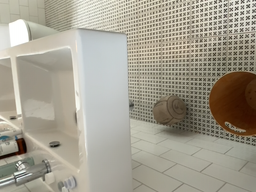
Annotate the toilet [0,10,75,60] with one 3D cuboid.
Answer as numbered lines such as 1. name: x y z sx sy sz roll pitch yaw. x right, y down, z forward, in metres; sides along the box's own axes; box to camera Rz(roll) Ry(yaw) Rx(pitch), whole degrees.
1. toilet: -1.050 -0.550 2.060 0.610 0.810 0.380 8 104 47
